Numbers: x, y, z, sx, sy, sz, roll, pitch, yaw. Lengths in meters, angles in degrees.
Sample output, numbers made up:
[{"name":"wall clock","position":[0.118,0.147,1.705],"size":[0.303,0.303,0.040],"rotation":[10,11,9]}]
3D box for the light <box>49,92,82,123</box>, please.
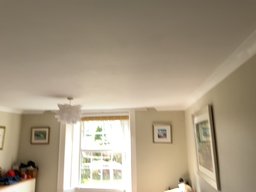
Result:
[{"name":"light","position":[-0.830,0.160,2.840],"size":[0.300,0.320,0.380],"rotation":[34,-126,-79]}]
